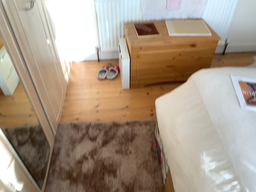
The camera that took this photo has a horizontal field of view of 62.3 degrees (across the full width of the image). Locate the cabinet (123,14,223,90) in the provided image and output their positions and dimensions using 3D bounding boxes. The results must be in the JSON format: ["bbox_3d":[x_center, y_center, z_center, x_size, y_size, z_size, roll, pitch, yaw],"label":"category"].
[{"bbox_3d":[0.380,-0.450,2.140,0.810,0.520,0.500,-4,44,-5],"label":"cabinet"}]
